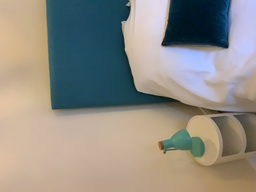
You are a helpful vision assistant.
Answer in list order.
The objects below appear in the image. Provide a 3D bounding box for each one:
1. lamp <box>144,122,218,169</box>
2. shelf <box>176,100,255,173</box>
[{"bbox_3d":[0.320,0.310,1.330,0.250,0.340,0.170,117,144,-53],"label":"lamp"},{"bbox_3d":[0.730,0.280,1.520,0.350,0.570,0.350,118,144,-54],"label":"shelf"}]
